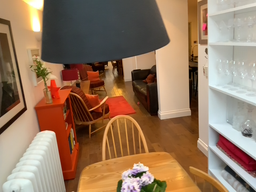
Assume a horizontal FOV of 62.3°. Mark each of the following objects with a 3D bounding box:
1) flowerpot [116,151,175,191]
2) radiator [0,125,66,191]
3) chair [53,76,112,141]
[{"bbox_3d":[0.080,0.470,1.070,0.240,0.240,0.260,-7,16,-5],"label":"flowerpot"},{"bbox_3d":[-0.790,0.810,1.830,0.270,0.800,0.900,-8,16,-9],"label":"radiator"},{"bbox_3d":[-0.790,0.180,3.890,0.540,0.950,0.790,4,18,31],"label":"chair"}]
